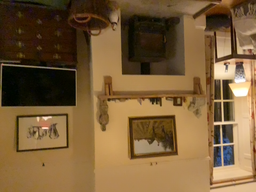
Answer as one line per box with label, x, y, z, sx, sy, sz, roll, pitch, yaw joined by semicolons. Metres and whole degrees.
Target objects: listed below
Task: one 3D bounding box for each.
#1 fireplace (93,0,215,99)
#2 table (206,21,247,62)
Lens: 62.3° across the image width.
fireplace;0.380;-0.640;3.460;1.780;1.330;0.800;-1;179;-16
table;1.860;-1.010;4.010;0.560;0.650;0.400;-1;179;-16
